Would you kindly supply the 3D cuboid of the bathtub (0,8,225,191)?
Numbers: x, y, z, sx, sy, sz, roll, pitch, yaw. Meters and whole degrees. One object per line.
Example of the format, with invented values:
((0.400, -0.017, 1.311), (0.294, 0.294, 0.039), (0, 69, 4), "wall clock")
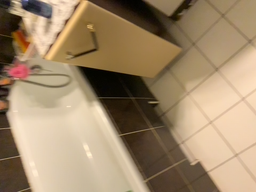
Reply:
((-0.040, 0.460, 1.150), (0.680, 0.560, 1.840), (-45, 64, 26), "bathtub")
